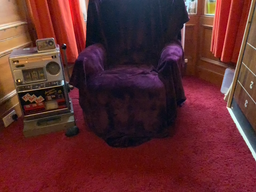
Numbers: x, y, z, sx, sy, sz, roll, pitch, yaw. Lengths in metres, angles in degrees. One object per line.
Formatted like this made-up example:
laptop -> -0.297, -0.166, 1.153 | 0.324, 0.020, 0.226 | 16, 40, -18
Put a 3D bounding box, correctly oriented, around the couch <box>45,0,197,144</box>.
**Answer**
couch -> 0.030, -0.320, 1.770 | 0.830, 1.010, 0.930 | 1, 27, 8
